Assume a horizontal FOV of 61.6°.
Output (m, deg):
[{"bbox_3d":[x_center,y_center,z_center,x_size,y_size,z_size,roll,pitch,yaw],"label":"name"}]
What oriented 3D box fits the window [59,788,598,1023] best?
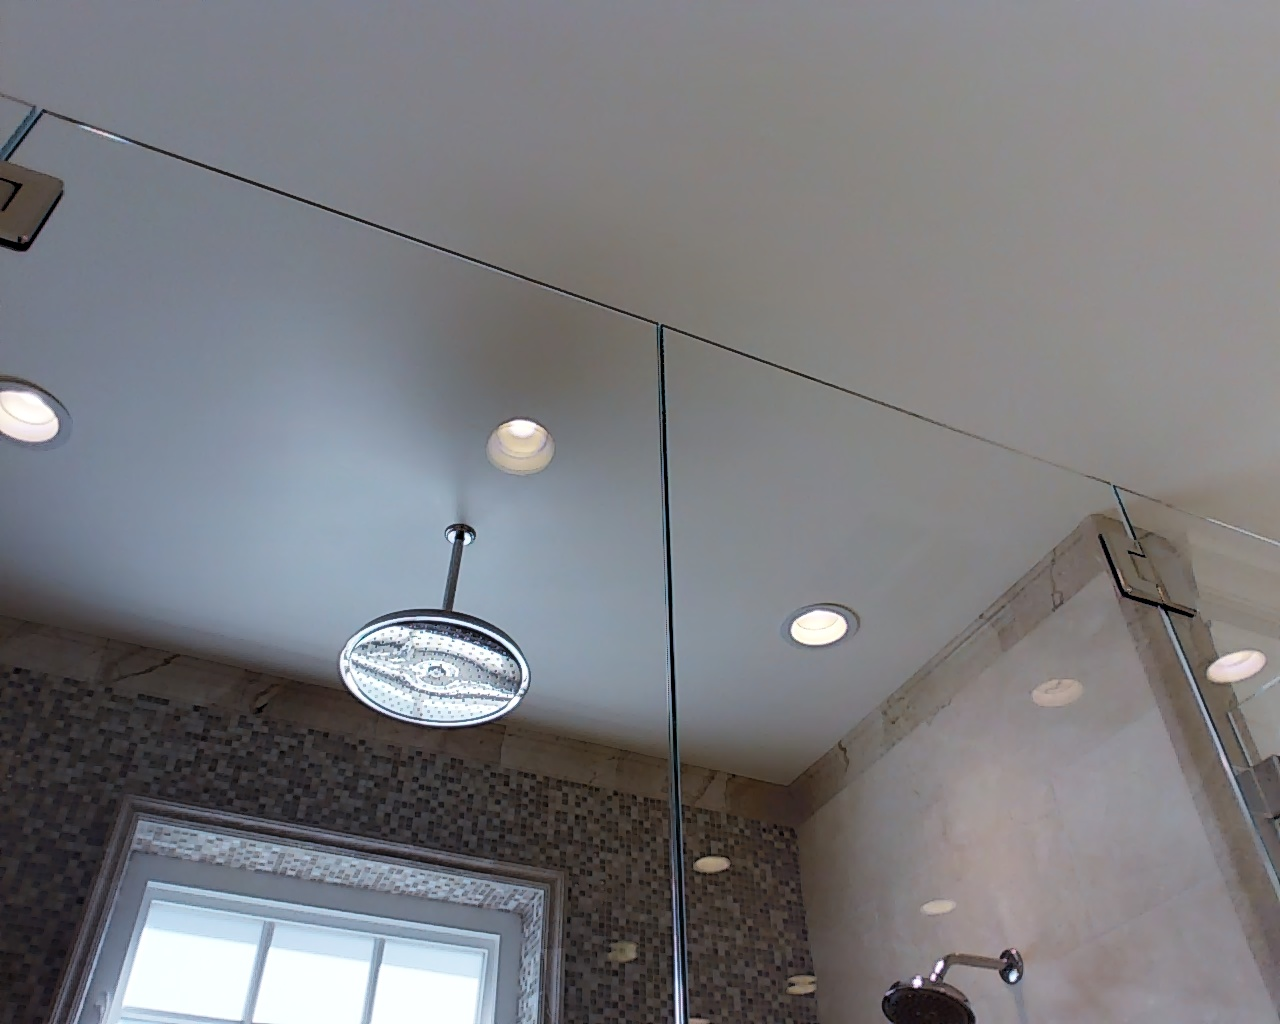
[{"bbox_3d":[-0.600,1.011,2.180,0.999,0.680,0.220,15,-45,-16],"label":"window"}]
